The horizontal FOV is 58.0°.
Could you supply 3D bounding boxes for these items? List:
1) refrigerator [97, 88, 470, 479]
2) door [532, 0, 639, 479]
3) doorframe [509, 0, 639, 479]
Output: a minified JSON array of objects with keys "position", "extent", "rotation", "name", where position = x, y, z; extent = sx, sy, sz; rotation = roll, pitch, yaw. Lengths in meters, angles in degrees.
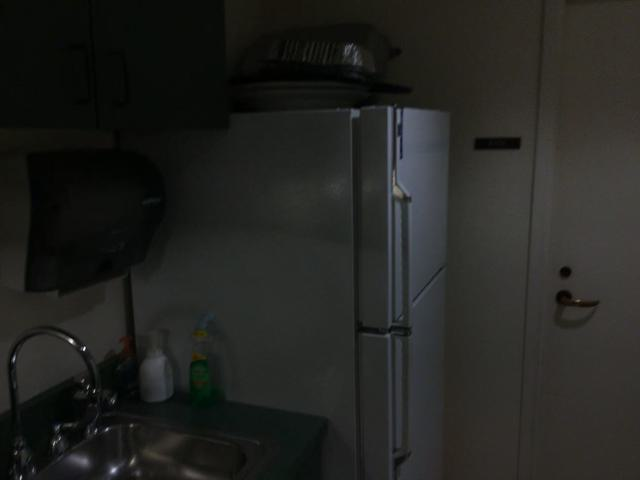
[{"position":[-0.040,0.400,1.870],"extent":[0.830,1.620,0.890],"rotation":[4,9,21],"name":"refrigerator"},{"position":[1.220,0.180,1.910],"extent":[0.870,1.930,0.120],"rotation":[4,9,21],"name":"door"},{"position":[1.210,0.190,1.870],"extent":[1.040,1.930,0.180],"rotation":[4,9,21],"name":"doorframe"}]
